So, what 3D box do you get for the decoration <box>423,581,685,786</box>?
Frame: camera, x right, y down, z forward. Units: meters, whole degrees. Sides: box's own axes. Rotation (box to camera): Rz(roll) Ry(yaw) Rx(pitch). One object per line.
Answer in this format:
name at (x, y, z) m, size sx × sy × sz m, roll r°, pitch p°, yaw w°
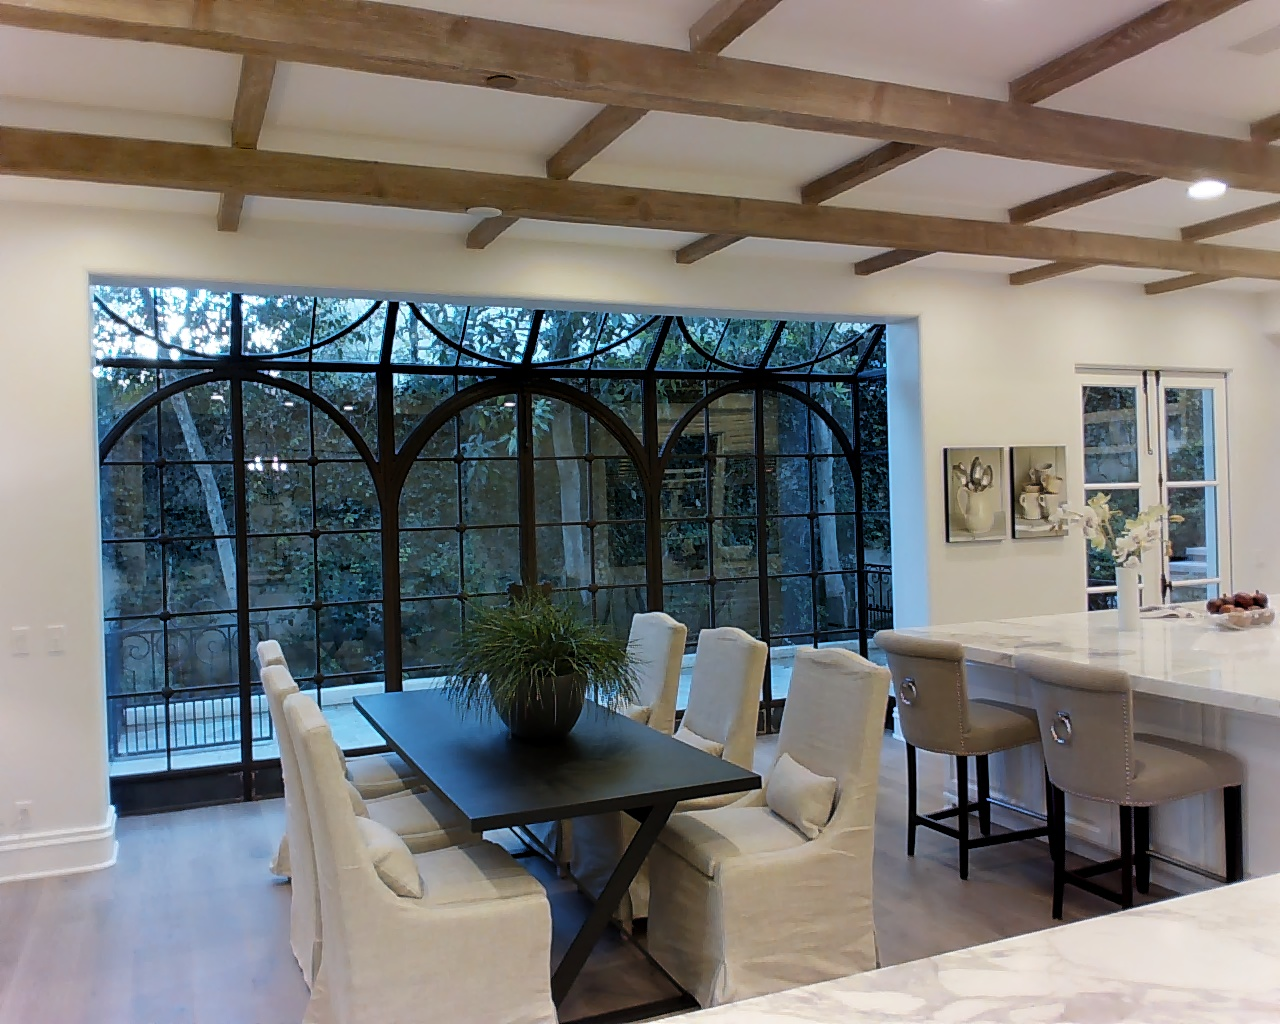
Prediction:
decoration at (-0.360, 0.580, 3.990) m, size 0.670 × 0.570 × 0.990 m, roll -2°, pitch 0°, yaw -23°
